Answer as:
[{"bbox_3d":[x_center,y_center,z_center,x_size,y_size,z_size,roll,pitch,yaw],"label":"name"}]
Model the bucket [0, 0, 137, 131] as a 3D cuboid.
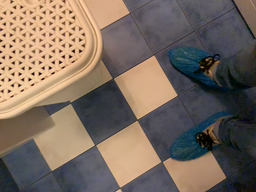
[{"bbox_3d":[-0.200,-0.130,0.630,0.280,0.550,0.300,-30,91,-4],"label":"bucket"}]
